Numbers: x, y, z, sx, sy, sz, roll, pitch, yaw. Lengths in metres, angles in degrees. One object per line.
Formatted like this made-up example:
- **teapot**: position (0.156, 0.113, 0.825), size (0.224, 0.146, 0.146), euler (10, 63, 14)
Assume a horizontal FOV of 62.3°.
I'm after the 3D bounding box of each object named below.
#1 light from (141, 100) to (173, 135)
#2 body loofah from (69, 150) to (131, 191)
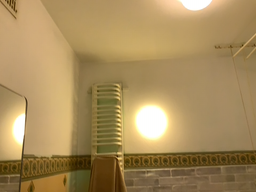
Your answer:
- **light**: position (0.270, 0.210, 2.040), size (0.280, 0.310, 0.090), euler (-3, -16, 1)
- **body loofah**: position (-0.220, 0.910, 1.810), size (0.490, 0.850, 0.300), euler (-3, -16, 2)
